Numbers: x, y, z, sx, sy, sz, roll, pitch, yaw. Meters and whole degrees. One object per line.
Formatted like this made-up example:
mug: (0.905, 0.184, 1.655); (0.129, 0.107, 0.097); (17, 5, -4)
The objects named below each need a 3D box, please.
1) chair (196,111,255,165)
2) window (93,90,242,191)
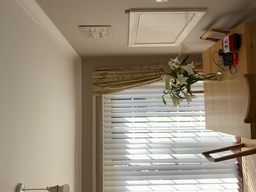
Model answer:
chair: (1.190, 0.400, 2.160); (0.350, 0.860, 0.480); (102, 167, -85)
window: (0.570, 0.810, 3.170); (0.130, 2.150, 1.750); (109, 159, -87)
